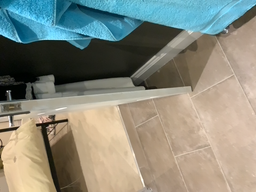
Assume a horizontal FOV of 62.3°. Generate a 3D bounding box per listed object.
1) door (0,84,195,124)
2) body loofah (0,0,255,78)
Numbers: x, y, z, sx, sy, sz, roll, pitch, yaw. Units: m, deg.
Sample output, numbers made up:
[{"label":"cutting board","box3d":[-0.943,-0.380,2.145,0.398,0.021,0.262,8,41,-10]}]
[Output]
[{"label":"door","box3d":[-0.710,0.100,1.000,0.890,2.190,0.090,-11,86,51]},{"label":"body loofah","box3d":[0.110,-0.360,0.550,0.940,1.140,0.200,-36,66,47]}]
